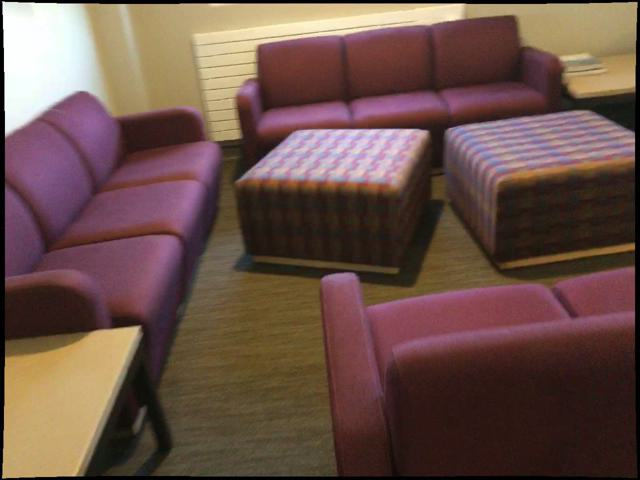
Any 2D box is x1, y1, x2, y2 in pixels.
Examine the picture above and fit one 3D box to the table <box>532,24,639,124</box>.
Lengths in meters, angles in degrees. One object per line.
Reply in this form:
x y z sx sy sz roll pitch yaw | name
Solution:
1.785 -1.003 3.390 0.808 0.351 0.690 -6 28 2 | table
